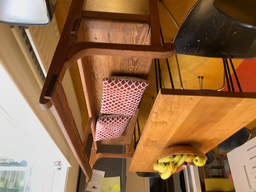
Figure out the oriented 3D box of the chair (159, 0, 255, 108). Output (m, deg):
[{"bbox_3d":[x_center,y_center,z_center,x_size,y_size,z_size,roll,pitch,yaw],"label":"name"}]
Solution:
[{"bbox_3d":[0.480,-0.380,1.020,0.490,0.710,0.500,2,150,-6],"label":"chair"}]
